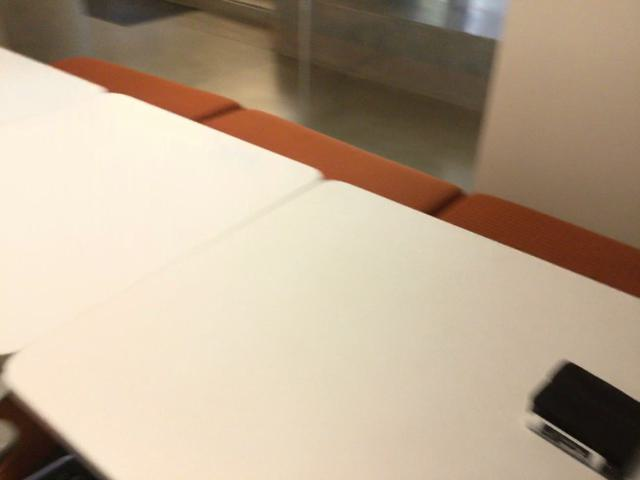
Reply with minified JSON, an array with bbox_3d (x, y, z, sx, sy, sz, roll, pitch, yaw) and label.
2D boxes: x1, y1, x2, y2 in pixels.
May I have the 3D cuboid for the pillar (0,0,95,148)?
[{"bbox_3d":[-1.460,-0.970,2.860,0.450,0.860,0.330,25,39,29],"label":"pillar"}]
